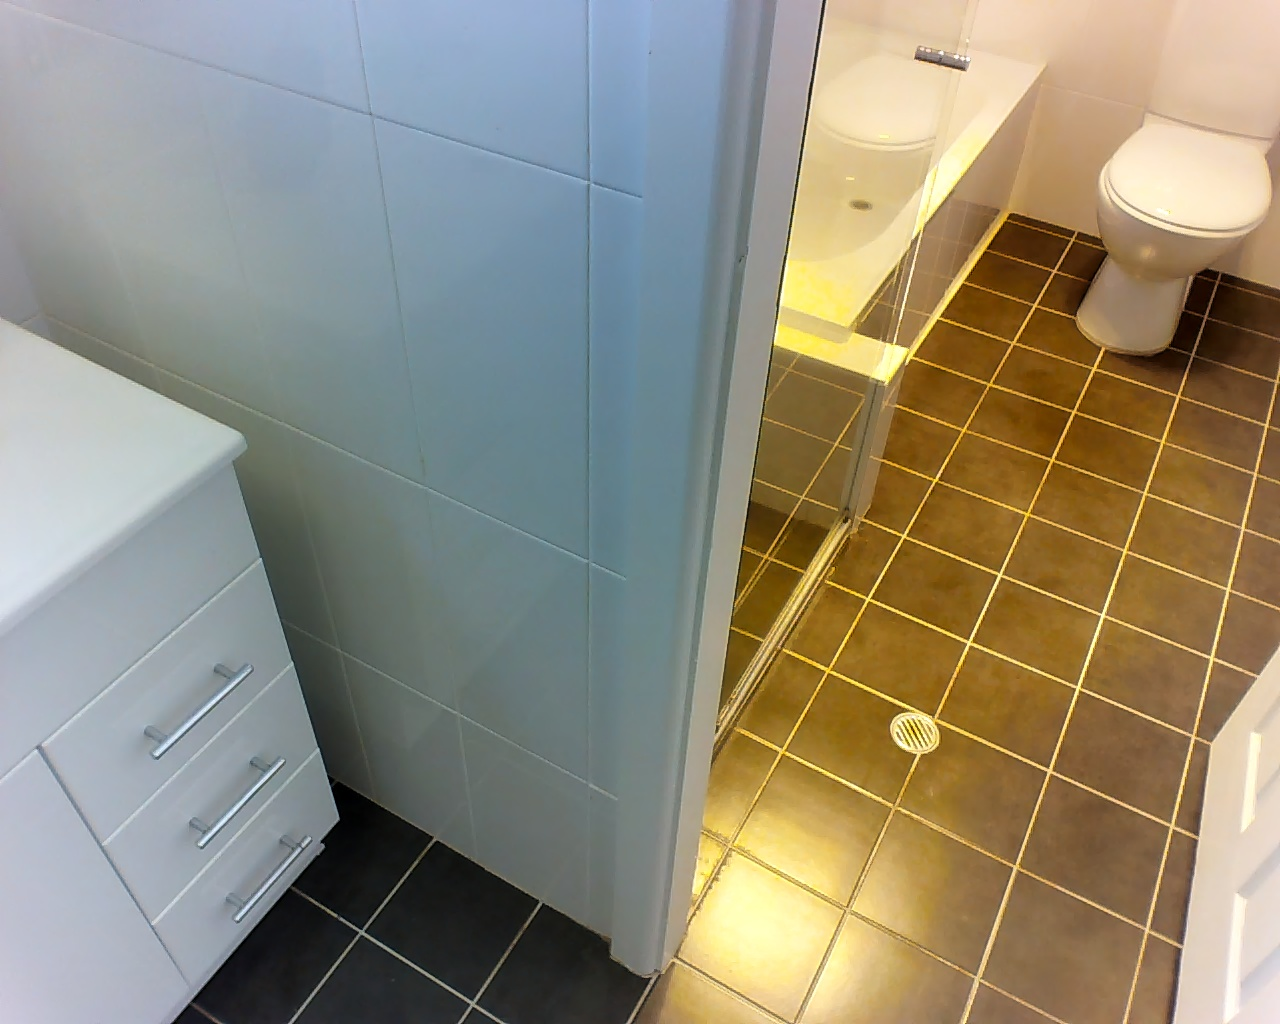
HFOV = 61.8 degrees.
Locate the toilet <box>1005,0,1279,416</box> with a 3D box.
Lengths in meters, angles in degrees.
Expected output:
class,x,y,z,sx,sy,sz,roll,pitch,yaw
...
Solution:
class,x,y,z,sx,sy,sz,roll,pitch,yaw
toilet,1.290,-0.810,2.570,0.410,0.830,0.700,23,48,20
